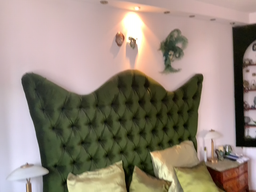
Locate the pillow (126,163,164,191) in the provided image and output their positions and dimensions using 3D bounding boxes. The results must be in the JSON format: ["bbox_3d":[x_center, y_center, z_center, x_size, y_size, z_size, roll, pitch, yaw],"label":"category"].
[{"bbox_3d":[0.160,0.910,2.130,0.330,0.390,0.190,9,-19,4],"label":"pillow"}]

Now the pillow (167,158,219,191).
[{"bbox_3d":[0.670,0.910,2.160,0.440,0.380,0.220,30,-32,-16],"label":"pillow"}]

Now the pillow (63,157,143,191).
[{"bbox_3d":[-0.240,0.910,1.890,0.630,0.620,0.260,17,-17,-26],"label":"pillow"}]

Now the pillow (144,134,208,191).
[{"bbox_3d":[0.550,0.790,2.350,0.610,0.580,0.230,18,-21,-18],"label":"pillow"}]
